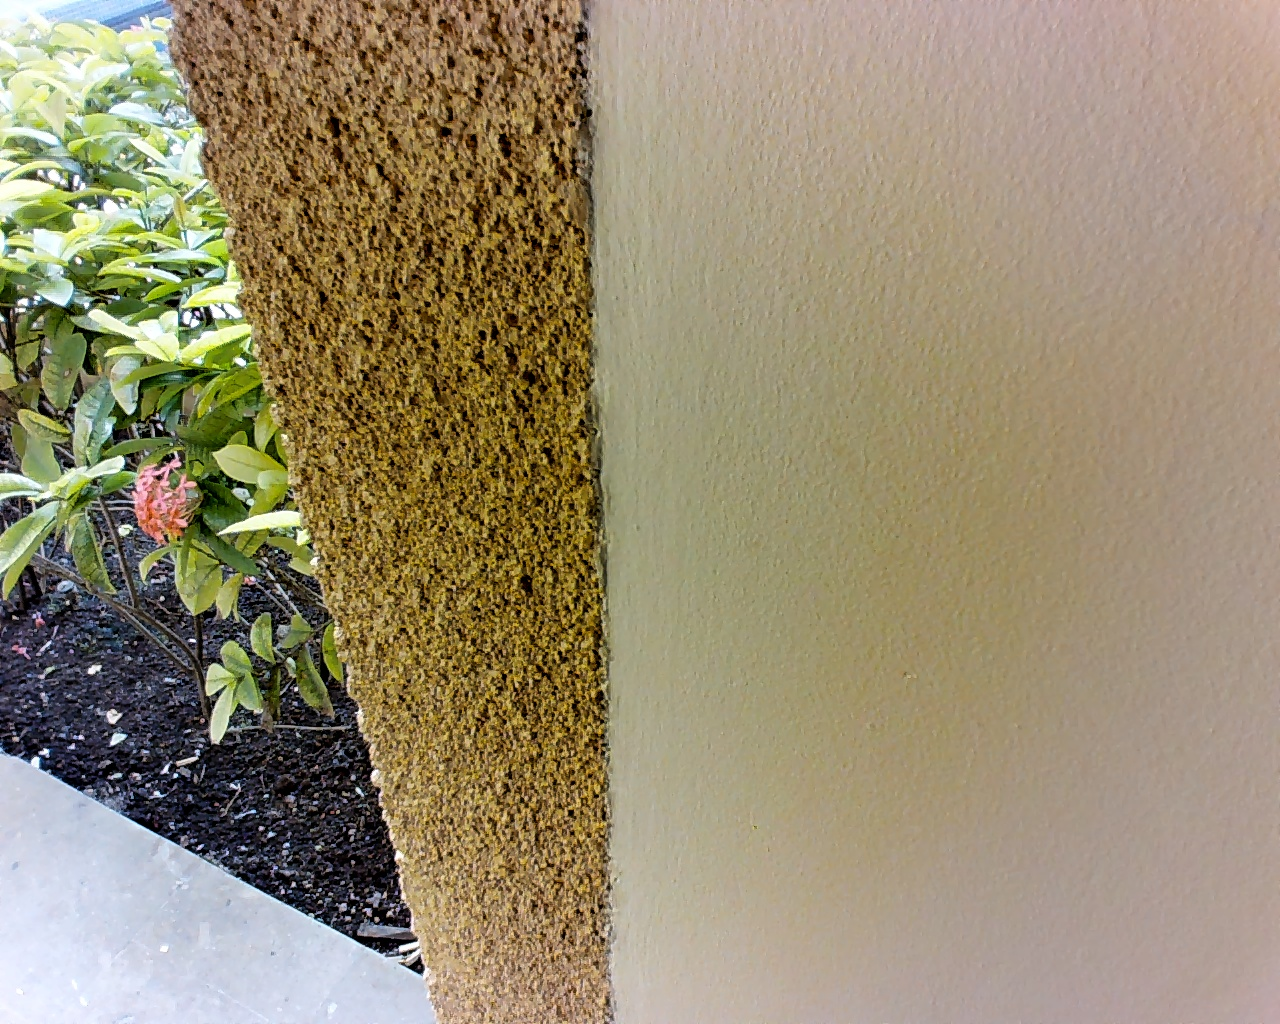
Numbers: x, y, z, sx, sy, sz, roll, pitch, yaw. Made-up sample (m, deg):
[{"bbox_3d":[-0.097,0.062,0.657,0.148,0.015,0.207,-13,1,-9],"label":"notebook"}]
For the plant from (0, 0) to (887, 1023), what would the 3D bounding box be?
[{"bbox_3d":[-1.020,-0.300,1.970,2.500,1.090,1.190,18,45,20],"label":"plant"}]
